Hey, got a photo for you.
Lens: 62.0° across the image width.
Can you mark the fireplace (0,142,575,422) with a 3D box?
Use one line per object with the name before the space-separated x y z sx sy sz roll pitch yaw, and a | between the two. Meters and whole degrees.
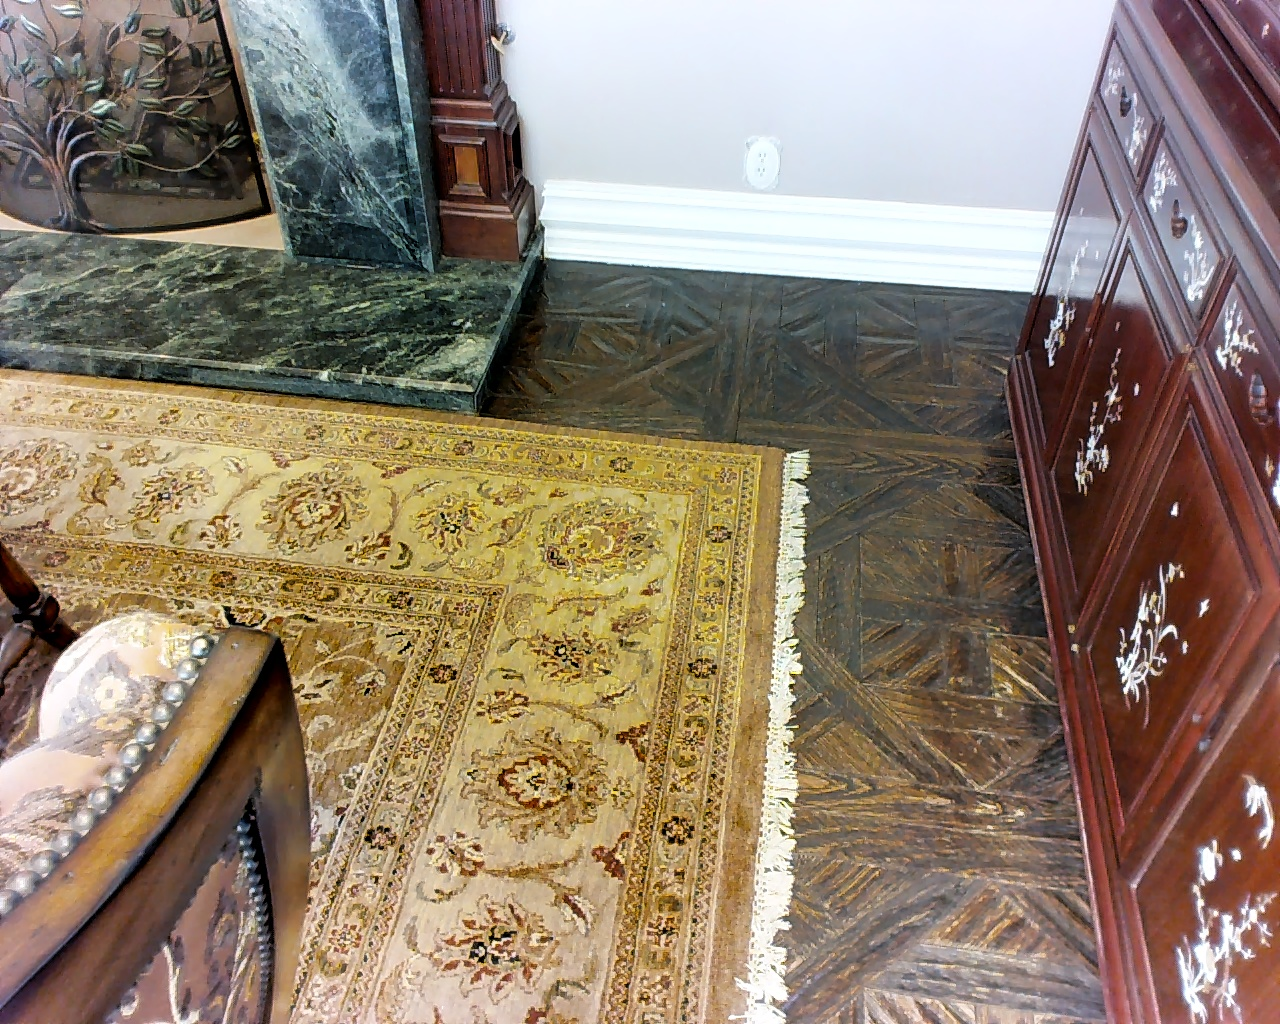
fireplace | -1.530 -0.700 2.840 2.560 0.090 1.050 5 42 5
